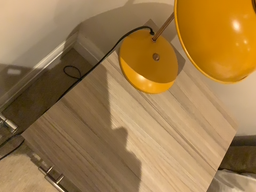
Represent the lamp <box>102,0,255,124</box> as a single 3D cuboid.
[{"bbox_3d":[0.140,-0.110,0.380,0.200,0.300,0.210,46,63,-10],"label":"lamp"}]
